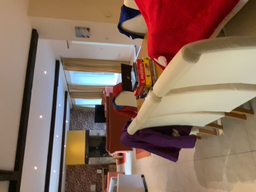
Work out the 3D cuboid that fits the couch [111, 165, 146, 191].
[{"bbox_3d":[-0.010,2.370,5.600,0.710,0.760,0.740,-113,27,-67],"label":"couch"}]
